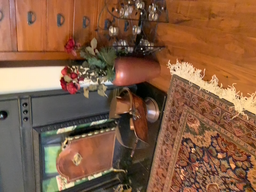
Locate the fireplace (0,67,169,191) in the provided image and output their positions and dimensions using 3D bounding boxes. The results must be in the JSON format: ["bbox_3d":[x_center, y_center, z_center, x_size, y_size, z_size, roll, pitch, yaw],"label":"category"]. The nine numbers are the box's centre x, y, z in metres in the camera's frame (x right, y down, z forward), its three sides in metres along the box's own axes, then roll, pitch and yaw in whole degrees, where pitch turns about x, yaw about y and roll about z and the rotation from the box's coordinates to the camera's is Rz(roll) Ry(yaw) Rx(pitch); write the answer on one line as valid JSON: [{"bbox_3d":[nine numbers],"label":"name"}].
[{"bbox_3d":[-0.490,0.650,1.850,0.670,1.230,1.610,37,126,46],"label":"fireplace"}]

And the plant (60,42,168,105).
[{"bbox_3d":[-0.090,-0.190,1.550,0.220,0.750,0.350,35,125,48],"label":"plant"}]
